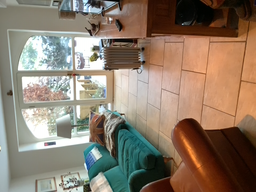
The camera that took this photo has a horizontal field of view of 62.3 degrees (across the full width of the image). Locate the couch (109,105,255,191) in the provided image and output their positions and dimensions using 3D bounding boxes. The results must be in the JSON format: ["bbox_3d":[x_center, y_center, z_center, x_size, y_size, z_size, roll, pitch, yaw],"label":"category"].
[{"bbox_3d":[0.520,0.900,1.540,1.060,0.950,1.200,-115,30,-41],"label":"couch"}]

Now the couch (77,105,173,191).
[{"bbox_3d":[-0.220,0.950,3.510,1.970,0.870,1.040,-148,56,-64],"label":"couch"}]

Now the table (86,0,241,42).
[{"bbox_3d":[0.140,-0.870,2.310,1.830,0.820,0.510,-149,57,-64],"label":"table"}]
